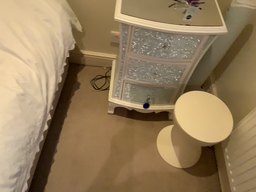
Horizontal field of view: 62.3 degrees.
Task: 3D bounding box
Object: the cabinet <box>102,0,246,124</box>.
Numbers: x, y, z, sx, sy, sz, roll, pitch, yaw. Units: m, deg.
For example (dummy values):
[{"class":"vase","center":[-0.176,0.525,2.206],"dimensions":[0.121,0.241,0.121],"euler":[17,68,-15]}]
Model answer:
[{"class":"cabinet","center":[0.170,-0.250,1.320],"dimensions":[0.580,0.800,0.460],"euler":[7,55,-4]}]
